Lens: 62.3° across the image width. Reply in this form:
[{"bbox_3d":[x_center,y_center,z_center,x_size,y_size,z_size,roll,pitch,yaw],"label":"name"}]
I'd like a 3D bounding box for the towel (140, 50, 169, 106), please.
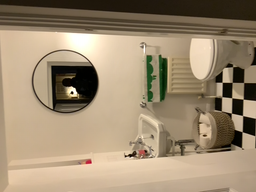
[{"bbox_3d":[0.270,-0.180,2.150,0.070,0.280,0.550,-159,68,-75],"label":"towel"}]

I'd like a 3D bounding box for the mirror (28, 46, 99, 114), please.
[{"bbox_3d":[-0.590,-0.150,2.000,0.050,0.620,0.610,-157,66,-75],"label":"mirror"}]
